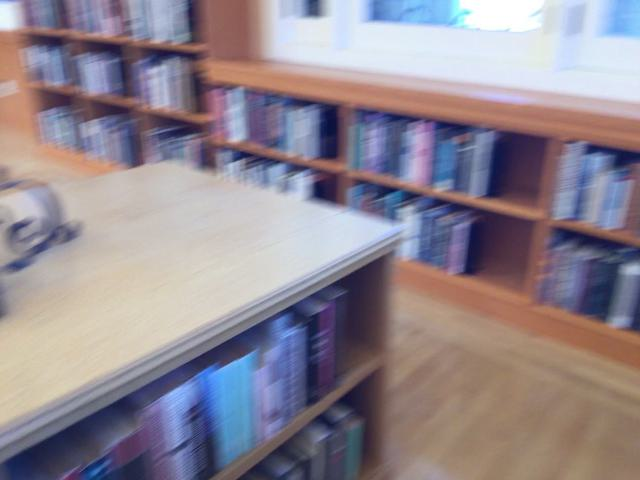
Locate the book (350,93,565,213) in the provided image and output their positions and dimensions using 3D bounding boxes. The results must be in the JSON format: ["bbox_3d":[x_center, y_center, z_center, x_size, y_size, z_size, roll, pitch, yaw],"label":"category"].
[{"bbox_3d":[0.550,-0.400,2.450,0.790,0.310,0.350,20,29,37],"label":"book"}]

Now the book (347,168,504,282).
[{"bbox_3d":[0.450,-0.090,2.600,0.650,0.310,0.220,20,29,37],"label":"book"}]

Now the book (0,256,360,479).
[{"bbox_3d":[-0.210,0.300,1.050,0.170,0.320,0.680,20,29,37],"label":"book"}]
